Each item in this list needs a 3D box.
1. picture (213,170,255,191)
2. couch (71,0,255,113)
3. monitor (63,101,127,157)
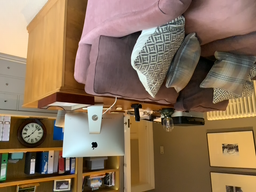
[{"bbox_3d":[1.800,1.550,3.460,0.020,0.580,0.790,9,165,-42],"label":"picture"},{"bbox_3d":[0.600,-0.390,1.630,1.700,0.850,1.040,8,166,-40],"label":"couch"},{"bbox_3d":[-0.290,0.290,1.870,0.560,0.470,0.030,-3,169,8],"label":"monitor"}]
